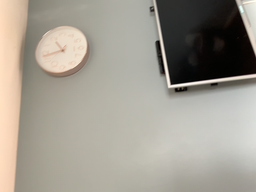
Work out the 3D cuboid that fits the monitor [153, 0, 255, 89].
[{"bbox_3d":[0.360,-0.410,1.070,0.030,0.430,0.730,58,-156,-67],"label":"monitor"}]
